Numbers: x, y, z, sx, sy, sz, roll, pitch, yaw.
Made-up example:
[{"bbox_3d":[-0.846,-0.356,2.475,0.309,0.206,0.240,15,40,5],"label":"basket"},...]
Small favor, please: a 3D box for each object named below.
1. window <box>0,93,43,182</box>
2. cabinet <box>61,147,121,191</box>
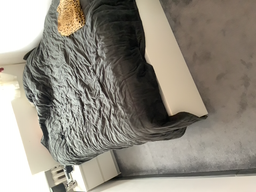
[{"bbox_3d":[-2.050,0.650,2.640,0.180,1.590,1.110,-35,74,51],"label":"window"},{"bbox_3d":[-0.530,1.030,2.950,0.570,0.550,0.390,-32,76,51],"label":"cabinet"}]
